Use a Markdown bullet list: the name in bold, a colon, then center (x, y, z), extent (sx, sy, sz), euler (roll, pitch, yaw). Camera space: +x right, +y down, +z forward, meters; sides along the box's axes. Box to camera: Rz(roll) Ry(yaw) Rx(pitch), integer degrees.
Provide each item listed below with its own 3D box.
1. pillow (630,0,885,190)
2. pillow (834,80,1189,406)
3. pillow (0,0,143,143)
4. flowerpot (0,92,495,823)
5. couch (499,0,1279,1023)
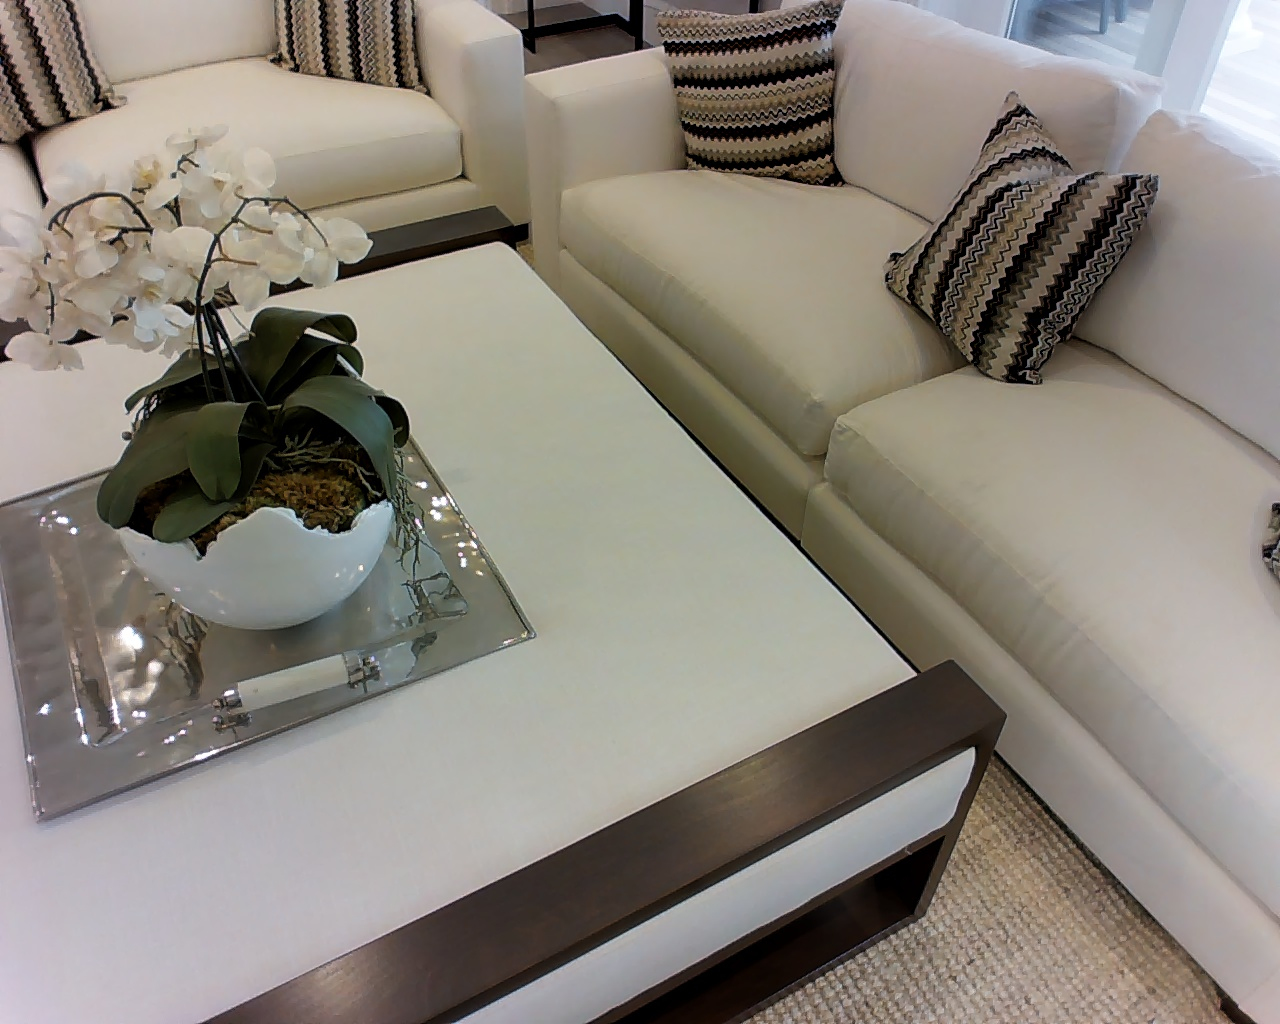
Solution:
- **pillow**: center (0.270, -1.050, 2.570), extent (0.520, 0.380, 0.260), euler (16, 44, 16)
- **pillow**: center (0.650, -0.510, 1.990), extent (0.290, 0.360, 0.490), euler (-21, 46, -23)
- **pillow**: center (-1.570, -1.170, 2.660), extent (0.490, 0.380, 0.310), euler (-21, 47, -23)
- **flowerpot**: center (-0.570, -0.110, 1.350), extent (0.590, 0.530, 0.650), euler (-13, 44, -16)
- **couch**: center (0.770, -0.280, 2.230), extent (1.130, 0.640, 2.600), euler (-19, 46, -22)
